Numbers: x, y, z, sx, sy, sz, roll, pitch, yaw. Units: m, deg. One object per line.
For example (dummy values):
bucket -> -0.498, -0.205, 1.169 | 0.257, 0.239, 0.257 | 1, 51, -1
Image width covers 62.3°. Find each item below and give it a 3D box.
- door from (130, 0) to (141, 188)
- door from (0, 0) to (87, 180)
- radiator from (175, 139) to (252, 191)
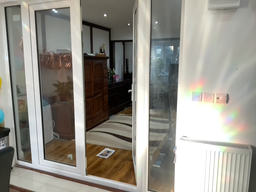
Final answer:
door -> 0.080, -0.080, 2.690 | 0.070, 2.150, 0.880 | 0, 9, -1
door -> -1.220, -0.090, 2.850 | 1.440, 2.300, 0.070 | 4, 10, 21
radiator -> 0.730, 0.740, 1.890 | 0.590, 0.620, 0.100 | 4, 10, 22
